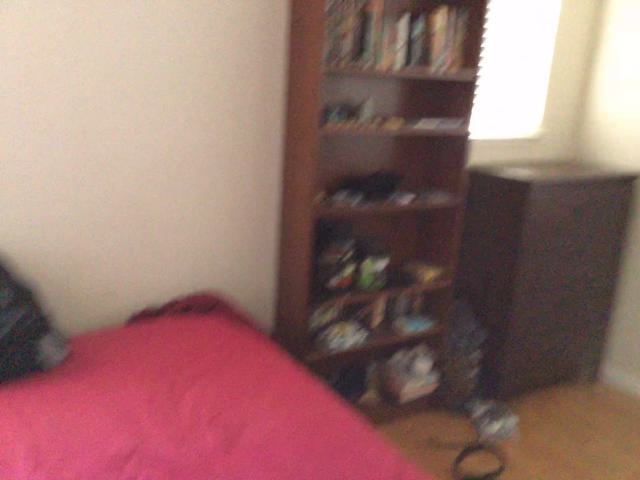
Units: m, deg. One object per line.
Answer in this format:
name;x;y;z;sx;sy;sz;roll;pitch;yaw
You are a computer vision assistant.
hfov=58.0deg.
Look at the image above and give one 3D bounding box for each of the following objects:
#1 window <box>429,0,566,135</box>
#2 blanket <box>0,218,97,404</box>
window;0.890;-0.950;2.850;0.830;0.840;0.100;-7;10;-30
blanket;-1.160;0.220;1.710;0.840;0.440;0.470;-6;14;-29
